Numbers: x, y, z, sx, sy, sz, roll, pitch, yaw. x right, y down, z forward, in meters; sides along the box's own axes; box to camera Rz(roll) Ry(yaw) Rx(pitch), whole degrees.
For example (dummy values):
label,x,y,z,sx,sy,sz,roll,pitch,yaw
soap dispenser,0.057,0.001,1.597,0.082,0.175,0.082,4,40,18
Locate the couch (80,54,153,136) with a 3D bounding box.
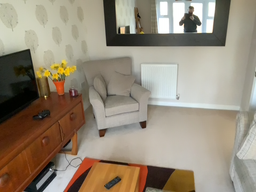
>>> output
label,x,y,z,sx,sy,sz,roll,pitch,yaw
couch,-0.200,-0.080,3.220,0.850,0.890,0.900,-8,23,-16
